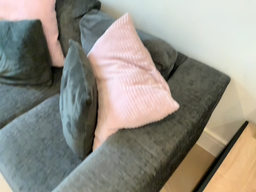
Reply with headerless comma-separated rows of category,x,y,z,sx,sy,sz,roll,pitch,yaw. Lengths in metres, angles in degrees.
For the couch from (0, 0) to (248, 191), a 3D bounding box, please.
couch,-0.410,-0.040,1.270,1.570,0.740,0.950,36,61,25
